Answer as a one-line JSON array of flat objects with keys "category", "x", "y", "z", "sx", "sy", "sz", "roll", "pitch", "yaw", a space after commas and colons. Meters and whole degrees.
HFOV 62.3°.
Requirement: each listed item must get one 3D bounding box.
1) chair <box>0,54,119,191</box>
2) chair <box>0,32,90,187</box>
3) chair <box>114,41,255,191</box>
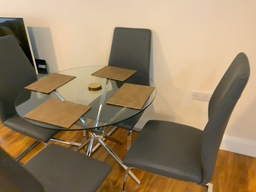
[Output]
[{"category": "chair", "x": -0.400, "y": 0.400, "z": 1.050, "sx": 0.470, "sy": 1.030, "sz": 0.580, "roll": 12, "pitch": 31, "yaw": 23}, {"category": "chair", "x": -0.720, "y": 0.090, "z": 1.650, "sx": 0.580, "sy": 1.020, "sz": 0.460, "roll": 11, "pitch": 31, "yaw": 21}, {"category": "chair", "x": 0.300, "y": 0.260, "z": 1.280, "sx": 0.560, "sy": 1.030, "sz": 0.470, "roll": 11, "pitch": 31, "yaw": 21}]
